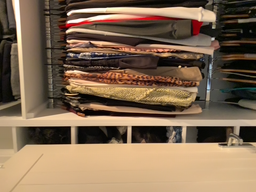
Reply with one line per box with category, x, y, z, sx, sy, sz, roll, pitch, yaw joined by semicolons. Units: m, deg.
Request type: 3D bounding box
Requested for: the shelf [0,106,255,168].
shelf;0.300;0.230;1.270;0.330;2.400;0.240;-114;25;-79
